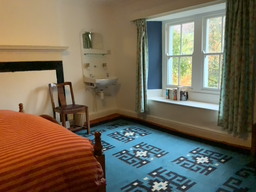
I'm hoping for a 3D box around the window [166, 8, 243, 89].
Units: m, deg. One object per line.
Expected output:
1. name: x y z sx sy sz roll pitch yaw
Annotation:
1. window: 1.170 -0.720 3.530 0.100 1.120 1.310 -9 11 -39
